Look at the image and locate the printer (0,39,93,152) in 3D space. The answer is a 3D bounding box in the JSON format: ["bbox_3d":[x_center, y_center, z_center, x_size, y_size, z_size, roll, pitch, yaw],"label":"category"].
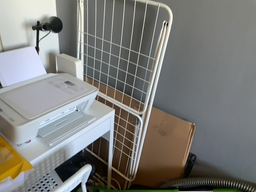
[{"bbox_3d":[-0.480,-0.050,1.050,0.430,0.300,0.420,23,34,28],"label":"printer"}]
